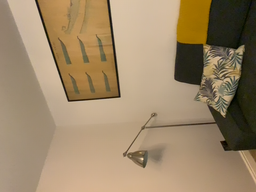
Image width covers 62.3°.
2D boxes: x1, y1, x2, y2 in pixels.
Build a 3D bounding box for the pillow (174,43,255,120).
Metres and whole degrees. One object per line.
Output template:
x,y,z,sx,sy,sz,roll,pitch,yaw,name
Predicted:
0.800,-0.110,1.920,0.230,0.380,0.630,-26,-10,-44,pillow
